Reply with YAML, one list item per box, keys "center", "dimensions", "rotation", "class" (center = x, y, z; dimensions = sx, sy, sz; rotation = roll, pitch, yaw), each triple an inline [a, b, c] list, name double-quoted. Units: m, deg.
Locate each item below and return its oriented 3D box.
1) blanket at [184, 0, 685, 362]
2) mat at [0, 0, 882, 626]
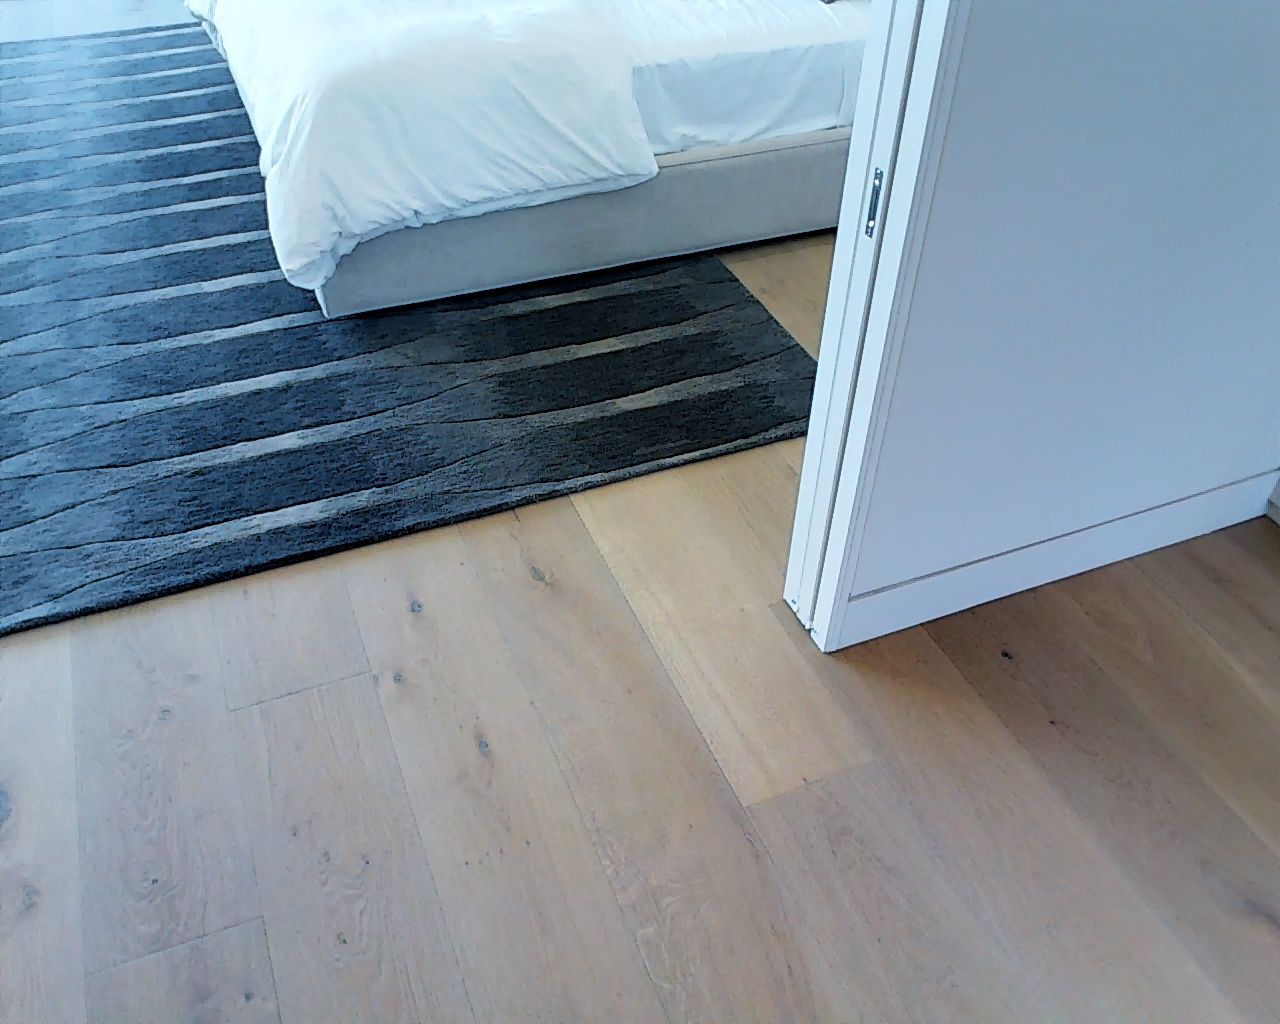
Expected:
- center: [-0.850, -1.520, 3.520]
  dimensions: [1.120, 0.700, 2.370]
  rotation: [-15, 44, -16]
  class: "blanket"
- center: [-1.400, -1.080, 3.530]
  dimensions: [2.810, 0.040, 3.680]
  rotation: [-15, 44, -17]
  class: "mat"
